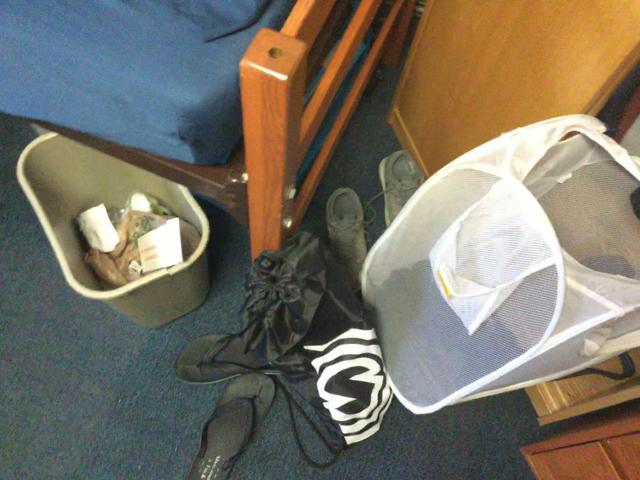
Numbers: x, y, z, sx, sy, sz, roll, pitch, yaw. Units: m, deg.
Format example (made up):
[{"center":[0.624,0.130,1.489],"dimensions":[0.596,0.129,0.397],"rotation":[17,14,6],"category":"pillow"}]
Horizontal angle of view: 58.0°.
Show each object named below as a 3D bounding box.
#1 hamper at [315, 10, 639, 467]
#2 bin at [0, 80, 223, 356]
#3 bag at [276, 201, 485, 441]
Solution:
[{"center":[0.360,0.060,1.090],"dimensions":[0.550,0.620,0.480],"rotation":[22,65,4],"category":"hamper"},{"center":[-0.420,-0.030,1.180],"dimensions":[0.250,0.360,0.370],"rotation":[-30,69,-16],"category":"bin"},{"center":[0.080,0.180,1.150],"dimensions":[0.280,0.390,0.340],"rotation":[-7,66,-9],"category":"bag"}]
